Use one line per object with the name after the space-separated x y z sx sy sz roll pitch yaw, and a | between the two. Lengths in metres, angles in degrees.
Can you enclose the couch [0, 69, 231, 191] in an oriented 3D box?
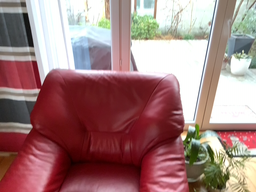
-0.140 0.430 1.310 0.960 0.880 0.930 2 28 1 | couch
